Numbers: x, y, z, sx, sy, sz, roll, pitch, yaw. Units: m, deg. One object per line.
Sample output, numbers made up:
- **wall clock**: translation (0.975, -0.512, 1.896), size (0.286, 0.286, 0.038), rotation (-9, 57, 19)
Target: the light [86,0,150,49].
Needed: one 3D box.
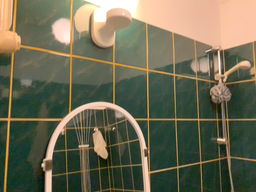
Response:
- **light**: translation (-0.040, -0.400, 0.900), size (0.170, 0.210, 0.320), rotation (9, 79, -38)
